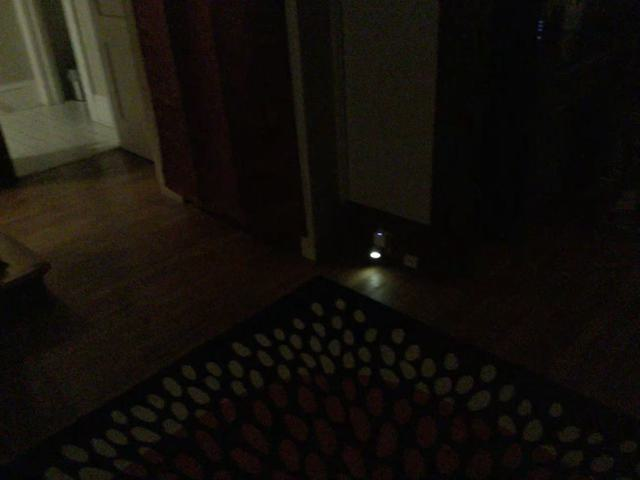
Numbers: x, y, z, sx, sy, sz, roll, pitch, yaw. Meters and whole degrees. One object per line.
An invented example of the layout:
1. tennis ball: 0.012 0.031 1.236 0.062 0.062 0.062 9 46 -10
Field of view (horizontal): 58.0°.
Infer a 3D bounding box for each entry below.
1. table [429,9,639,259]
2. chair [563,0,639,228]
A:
1. table: 1.090 -0.580 2.750 0.540 0.880 1.140 21 34 40
2. chair: 1.680 -0.580 2.560 0.760 0.900 0.790 21 34 40
